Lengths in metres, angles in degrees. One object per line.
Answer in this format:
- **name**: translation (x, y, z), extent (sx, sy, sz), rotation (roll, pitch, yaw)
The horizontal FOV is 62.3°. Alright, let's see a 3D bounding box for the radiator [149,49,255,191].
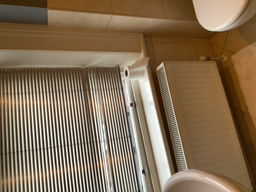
- **radiator**: translation (0.460, 0.170, 1.280), extent (0.110, 0.520, 0.920), rotation (142, 122, -63)
